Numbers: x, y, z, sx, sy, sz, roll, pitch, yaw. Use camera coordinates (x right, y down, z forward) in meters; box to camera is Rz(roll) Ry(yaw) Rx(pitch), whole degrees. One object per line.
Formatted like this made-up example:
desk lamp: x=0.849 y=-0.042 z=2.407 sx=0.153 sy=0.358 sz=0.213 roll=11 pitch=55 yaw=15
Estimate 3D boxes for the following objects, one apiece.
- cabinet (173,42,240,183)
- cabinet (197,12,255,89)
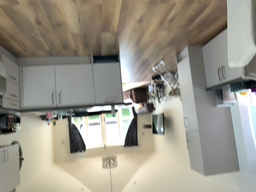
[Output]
cabinet: x=1.330 y=0.250 z=3.770 sx=0.620 sy=2.250 sz=0.640 roll=-5 pitch=174 yaw=-8
cabinet: x=1.470 y=-0.580 z=3.050 sx=0.410 sy=0.780 sz=1.020 roll=-5 pitch=174 yaw=-8
